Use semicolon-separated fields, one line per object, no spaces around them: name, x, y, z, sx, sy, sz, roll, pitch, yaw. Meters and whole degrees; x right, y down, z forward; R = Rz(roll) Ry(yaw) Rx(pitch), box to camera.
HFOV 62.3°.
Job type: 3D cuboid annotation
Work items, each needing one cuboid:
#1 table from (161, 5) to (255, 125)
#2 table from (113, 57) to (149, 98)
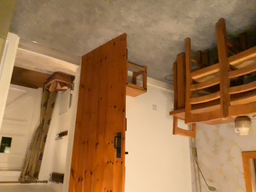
table;1.350;-0.250;2.100;1.020;0.750;1.850;13;160;-32
table;0.040;-0.230;2.820;0.390;0.400;0.280;12;159;-34
